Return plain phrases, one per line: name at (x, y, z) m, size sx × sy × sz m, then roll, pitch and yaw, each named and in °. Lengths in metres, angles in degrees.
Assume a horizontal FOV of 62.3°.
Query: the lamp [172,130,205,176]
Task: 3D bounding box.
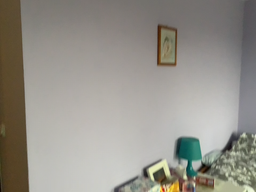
lamp at (0.510, 0.470, 1.790) m, size 0.190 × 0.290 × 0.210 m, roll 5°, pitch 8°, yaw 43°
